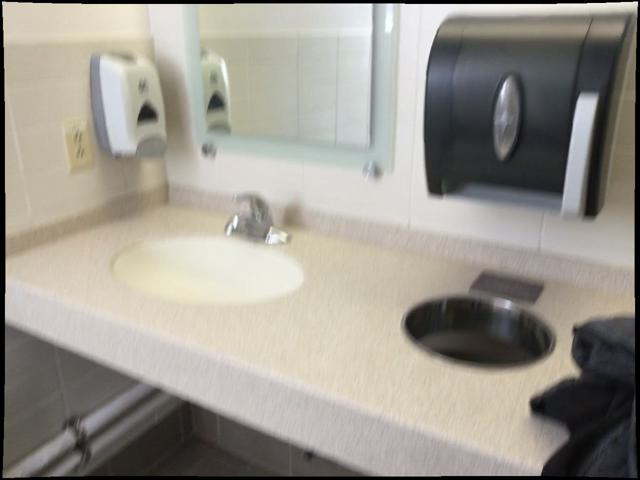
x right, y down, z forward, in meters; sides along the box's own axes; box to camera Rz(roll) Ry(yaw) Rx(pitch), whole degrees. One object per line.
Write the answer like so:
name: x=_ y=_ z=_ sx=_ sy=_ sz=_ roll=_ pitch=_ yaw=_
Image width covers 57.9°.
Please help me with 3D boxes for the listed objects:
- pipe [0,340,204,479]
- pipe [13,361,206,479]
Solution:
pipe: x=-0.629 y=0.511 z=1.670 sx=0.060 sy=0.090 sz=0.760 roll=12 pitch=26 yaw=32
pipe: x=-0.629 y=0.591 z=1.690 sx=0.060 sy=0.100 sz=0.760 roll=12 pitch=26 yaw=32
